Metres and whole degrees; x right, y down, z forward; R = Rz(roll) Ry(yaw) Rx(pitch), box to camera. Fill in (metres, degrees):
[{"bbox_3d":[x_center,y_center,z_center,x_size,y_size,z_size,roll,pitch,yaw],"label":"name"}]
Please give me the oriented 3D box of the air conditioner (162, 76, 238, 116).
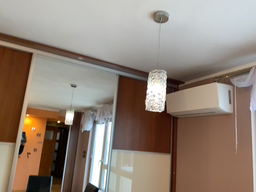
[{"bbox_3d":[0.750,0.040,2.370,0.250,0.290,0.850,11,-13,-28],"label":"air conditioner"}]
